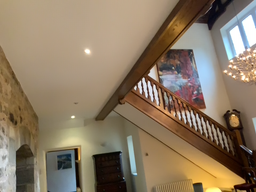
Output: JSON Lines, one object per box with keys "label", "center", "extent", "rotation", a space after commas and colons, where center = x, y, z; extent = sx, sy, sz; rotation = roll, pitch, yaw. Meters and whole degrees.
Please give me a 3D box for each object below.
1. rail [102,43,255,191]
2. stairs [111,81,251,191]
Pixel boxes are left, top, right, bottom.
{"label": "rail", "center": [1.260, 0.670, 5.400], "extent": [3.410, 4.430, 0.140], "rotation": [-4, -15, -14]}
{"label": "stairs", "center": [1.320, 1.390, 5.870], "extent": [3.070, 3.290, 1.160], "rotation": [-4, -15, -15]}
